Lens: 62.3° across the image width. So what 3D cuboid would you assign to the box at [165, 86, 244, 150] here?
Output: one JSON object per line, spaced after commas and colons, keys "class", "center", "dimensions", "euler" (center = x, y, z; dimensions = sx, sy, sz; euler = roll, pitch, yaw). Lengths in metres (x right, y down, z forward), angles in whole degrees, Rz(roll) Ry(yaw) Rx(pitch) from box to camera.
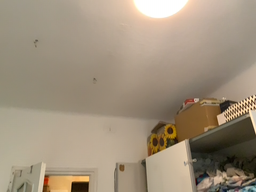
{"class": "box", "center": [0.770, 0.270, 2.290], "dimensions": [0.470, 0.490, 0.590], "euler": [6, -27, -16]}
